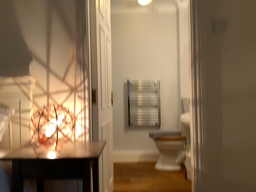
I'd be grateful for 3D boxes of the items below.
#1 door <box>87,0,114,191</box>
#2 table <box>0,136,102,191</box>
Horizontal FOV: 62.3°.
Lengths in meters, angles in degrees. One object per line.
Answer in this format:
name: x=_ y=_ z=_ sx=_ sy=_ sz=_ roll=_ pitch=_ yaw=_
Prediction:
door: x=-0.220 y=-0.070 z=1.840 sx=0.030 sy=1.970 sz=0.810 roll=-1 pitch=0 yaw=5
table: x=-0.390 y=0.610 z=1.170 sx=0.450 sy=0.690 sz=0.390 roll=-1 pitch=0 yaw=-1
